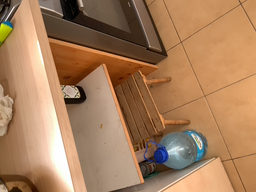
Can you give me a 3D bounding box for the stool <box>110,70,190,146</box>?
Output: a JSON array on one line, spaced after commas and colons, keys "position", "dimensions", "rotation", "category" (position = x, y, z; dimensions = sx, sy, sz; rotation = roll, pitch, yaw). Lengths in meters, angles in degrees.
[{"position": [0.120, 0.060, 1.110], "dimensions": [0.190, 0.300, 0.310], "rotation": [-31, 71, 35], "category": "stool"}]
